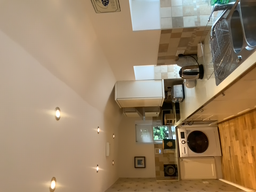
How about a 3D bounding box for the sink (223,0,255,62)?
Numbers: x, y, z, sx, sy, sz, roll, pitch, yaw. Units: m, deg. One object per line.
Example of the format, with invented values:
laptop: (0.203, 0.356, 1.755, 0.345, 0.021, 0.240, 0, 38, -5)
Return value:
sink: (0.780, -0.430, 1.430, 0.180, 0.160, 0.350, 72, -163, -76)
